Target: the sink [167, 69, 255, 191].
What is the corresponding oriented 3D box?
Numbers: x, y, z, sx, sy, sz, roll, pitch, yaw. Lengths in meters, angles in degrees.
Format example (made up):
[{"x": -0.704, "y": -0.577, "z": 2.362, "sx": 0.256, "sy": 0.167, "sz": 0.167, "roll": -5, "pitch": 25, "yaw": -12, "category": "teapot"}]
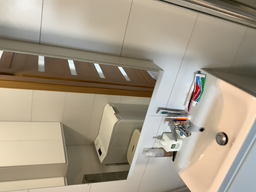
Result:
[{"x": 0.460, "y": 0.220, "z": 1.130, "sx": 0.380, "sy": 0.150, "sz": 0.620, "roll": -129, "pitch": 48, "yaw": -56, "category": "sink"}]
